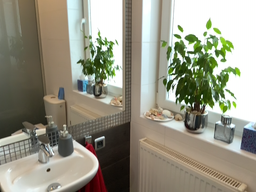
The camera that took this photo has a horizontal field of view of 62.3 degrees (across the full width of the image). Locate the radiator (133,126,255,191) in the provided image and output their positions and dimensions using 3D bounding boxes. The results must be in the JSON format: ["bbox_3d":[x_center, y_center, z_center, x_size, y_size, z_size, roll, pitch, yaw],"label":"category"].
[{"bbox_3d":[0.340,0.700,1.380,0.170,0.780,0.760,-12,19,-37],"label":"radiator"}]
